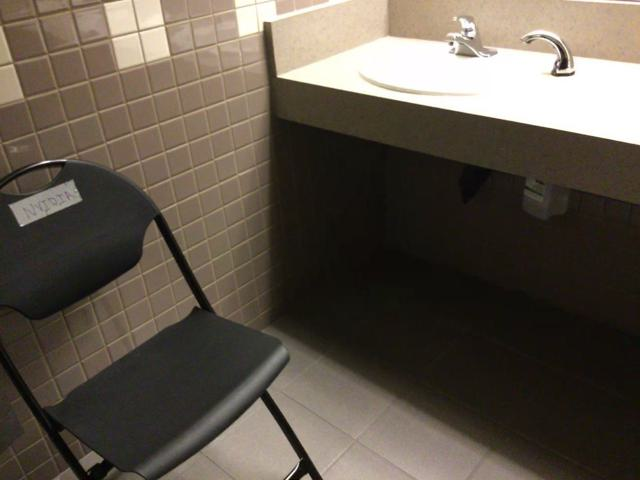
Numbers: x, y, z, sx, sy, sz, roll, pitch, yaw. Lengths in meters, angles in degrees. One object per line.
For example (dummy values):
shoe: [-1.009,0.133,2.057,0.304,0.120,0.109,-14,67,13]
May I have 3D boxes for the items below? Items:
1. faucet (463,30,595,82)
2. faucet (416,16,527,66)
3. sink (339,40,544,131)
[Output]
faucet: [0.580,-0.520,1.610,0.270,0.080,0.240,18,36,37]
faucet: [0.450,-0.600,1.730,0.260,0.100,0.190,18,36,37]
sink: [0.340,-0.450,1.620,0.410,0.130,0.390,18,36,37]
